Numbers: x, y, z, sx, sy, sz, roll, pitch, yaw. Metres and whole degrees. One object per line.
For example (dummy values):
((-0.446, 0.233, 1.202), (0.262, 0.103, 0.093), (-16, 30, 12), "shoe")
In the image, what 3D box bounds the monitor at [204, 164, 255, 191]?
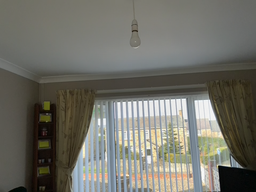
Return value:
((1.220, 1.060, 2.260), (0.050, 0.520, 0.900), (2, -8, -33), "monitor")

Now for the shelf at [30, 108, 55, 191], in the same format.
((-1.170, 1.110, 2.890), (0.290, 1.870, 0.190), (1, -8, -29), "shelf")

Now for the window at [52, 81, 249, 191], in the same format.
((0.270, 0.640, 3.080), (2.610, 1.570, 0.370), (-2, -7, 0), "window")
